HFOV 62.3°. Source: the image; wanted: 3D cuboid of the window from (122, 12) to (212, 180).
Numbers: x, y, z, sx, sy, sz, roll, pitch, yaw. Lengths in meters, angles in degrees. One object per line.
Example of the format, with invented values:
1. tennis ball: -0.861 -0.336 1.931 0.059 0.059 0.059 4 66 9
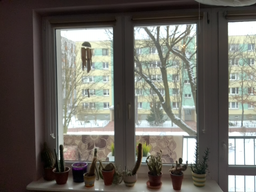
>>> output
1. window: 0.330 0.010 1.840 0.740 1.390 0.120 -1 2 4
